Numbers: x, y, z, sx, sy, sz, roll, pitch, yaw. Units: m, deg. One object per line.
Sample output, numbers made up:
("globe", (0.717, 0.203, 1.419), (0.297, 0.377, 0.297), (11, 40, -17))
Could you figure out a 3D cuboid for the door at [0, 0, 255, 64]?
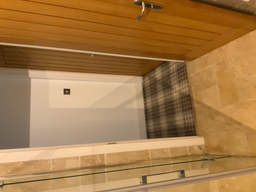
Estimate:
("door", (-0.100, -0.480, 1.620), (1.010, 1.940, 0.040), (160, 109, -65))
